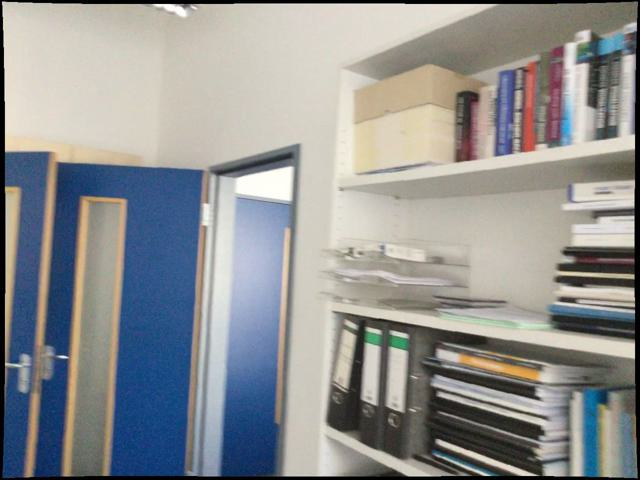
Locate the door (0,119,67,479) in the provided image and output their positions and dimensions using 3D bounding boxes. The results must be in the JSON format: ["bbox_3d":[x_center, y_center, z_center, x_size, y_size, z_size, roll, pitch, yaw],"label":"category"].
[{"bbox_3d":[-1.758,0.490,2.930,0.839,2.132,0.250,3,0,21],"label":"door"}]

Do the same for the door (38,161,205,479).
[{"bbox_3d":[-1.039,0.581,3.070,0.819,1.972,0.140,0,3,4],"label":"door"}]
